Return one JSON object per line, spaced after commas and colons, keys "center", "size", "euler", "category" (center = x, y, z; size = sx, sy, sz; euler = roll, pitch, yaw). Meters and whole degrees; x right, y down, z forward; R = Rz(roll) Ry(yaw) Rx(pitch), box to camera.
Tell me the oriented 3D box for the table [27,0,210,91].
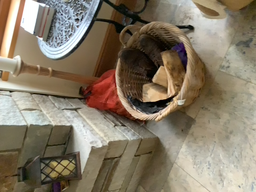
{"center": [-0.060, -0.480, 1.270], "size": [0.640, 0.720, 0.630], "euler": [32, 107, 42], "category": "table"}
